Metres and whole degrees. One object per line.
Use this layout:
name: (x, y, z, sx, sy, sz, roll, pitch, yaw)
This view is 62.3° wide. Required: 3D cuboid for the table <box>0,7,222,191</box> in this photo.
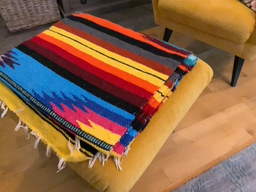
table: (-0.120, 0.040, 0.950, 0.720, 0.470, 0.630, 29, 54, 25)
